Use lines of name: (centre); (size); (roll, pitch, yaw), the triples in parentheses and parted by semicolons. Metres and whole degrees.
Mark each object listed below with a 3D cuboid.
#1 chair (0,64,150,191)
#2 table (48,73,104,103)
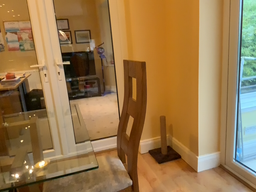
chair: (-0.230, 0.390, 1.170); (0.560, 1.030, 0.430); (-9, 15, -17)
table: (-1.200, -0.210, 4.930); (1.170, 0.450, 0.360); (-10, 16, -20)
